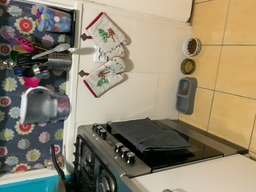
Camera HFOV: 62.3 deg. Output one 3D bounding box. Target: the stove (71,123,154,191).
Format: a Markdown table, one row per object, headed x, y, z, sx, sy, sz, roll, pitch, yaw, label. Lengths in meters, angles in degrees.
| x | y | z | sx | sy | sz | roll | pitch | yaw | label |
| --- | --- | --- | --- | --- | --- | --- | --- | --- | --- |
| -0.140 | 0.530 | 1.140 | 0.590 | 0.150 | 0.600 | 23 | 110 | 57 | stove |
